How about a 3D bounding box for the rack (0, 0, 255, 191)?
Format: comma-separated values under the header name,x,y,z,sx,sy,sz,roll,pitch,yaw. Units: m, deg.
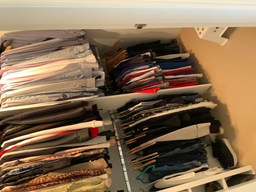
name,x,y,z,sx,sy,sz,roll,pitch,yaw
rack,-0.290,-0.230,1.950,0.520,2.020,2.220,117,143,-59
